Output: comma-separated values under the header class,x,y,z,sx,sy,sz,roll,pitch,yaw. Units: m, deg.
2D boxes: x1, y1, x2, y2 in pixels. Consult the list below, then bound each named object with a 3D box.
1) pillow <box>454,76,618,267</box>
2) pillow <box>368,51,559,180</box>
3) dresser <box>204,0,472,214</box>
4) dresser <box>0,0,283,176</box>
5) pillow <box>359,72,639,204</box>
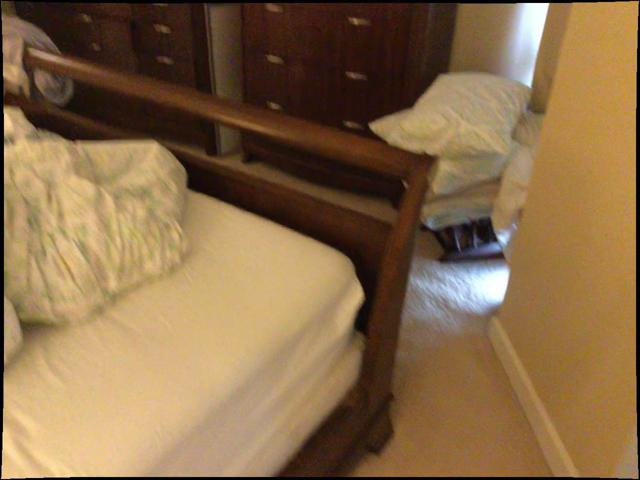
class,x,y,z,sx,sy,sz,roll,pitch,yaw
pillow,0.948,-0.341,2.500,0.399,0.461,0.830,18,38,26
pillow,0.609,-0.551,2.390,0.529,0.210,0.730,18,38,26
dresser,0.080,-1.113,2.990,1.208,1.583,0.620,18,38,26
dresser,-1.257,-1.233,3.710,1.897,1.002,0.760,18,38,26
pillow,0.708,-0.481,2.490,0.888,0.180,0.810,-7,34,-10
